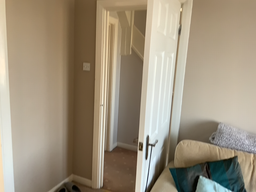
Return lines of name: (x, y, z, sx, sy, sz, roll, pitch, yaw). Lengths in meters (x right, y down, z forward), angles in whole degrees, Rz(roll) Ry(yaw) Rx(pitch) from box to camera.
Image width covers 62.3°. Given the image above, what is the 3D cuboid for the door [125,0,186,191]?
door: (0.210, 0.190, 1.600, 0.100, 1.950, 0.740, 9, 12, 24)
